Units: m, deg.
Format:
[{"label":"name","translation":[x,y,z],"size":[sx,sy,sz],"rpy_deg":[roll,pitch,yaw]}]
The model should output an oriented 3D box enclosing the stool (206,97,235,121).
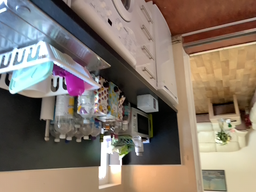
[{"label":"stool","translation":[2.100,0.320,4.810],"size":[0.520,0.390,0.530],"rpy_deg":[-8,162,23]}]
